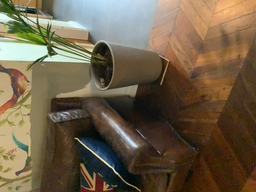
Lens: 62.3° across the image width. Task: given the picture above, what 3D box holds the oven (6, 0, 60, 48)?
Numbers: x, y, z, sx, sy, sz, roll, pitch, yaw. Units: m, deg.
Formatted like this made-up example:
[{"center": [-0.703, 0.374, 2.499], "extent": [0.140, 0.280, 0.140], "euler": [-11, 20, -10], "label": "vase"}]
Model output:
[{"center": [-1.840, -1.410, 4.030], "extent": [0.920, 0.740, 0.640], "euler": [43, 126, 44], "label": "oven"}]

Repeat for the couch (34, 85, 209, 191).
[{"center": [-0.150, 0.530, 1.660], "extent": [0.870, 0.870, 0.940], "euler": [40, 124, 45], "label": "couch"}]
